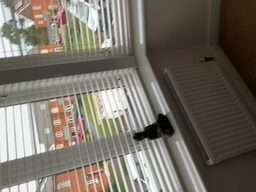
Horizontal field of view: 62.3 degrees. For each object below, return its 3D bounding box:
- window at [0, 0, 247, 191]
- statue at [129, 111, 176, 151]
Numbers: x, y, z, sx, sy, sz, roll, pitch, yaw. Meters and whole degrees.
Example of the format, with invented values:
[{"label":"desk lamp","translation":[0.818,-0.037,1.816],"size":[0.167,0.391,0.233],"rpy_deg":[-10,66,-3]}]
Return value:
[{"label":"window","translation":[-0.300,0.160,1.200],"size":[0.450,1.330,2.090],"rpy_deg":[112,143,-57]},{"label":"statue","translation":[0.160,0.240,1.460],"size":[0.180,0.230,0.170],"rpy_deg":[108,146,-54]}]
